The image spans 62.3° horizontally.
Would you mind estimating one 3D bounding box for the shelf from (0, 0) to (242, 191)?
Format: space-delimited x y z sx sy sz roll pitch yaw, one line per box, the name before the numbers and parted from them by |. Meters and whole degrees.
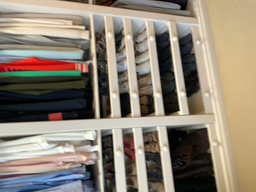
shelf | -0.320 0.260 1.840 0.700 2.340 2.000 142 125 -66
